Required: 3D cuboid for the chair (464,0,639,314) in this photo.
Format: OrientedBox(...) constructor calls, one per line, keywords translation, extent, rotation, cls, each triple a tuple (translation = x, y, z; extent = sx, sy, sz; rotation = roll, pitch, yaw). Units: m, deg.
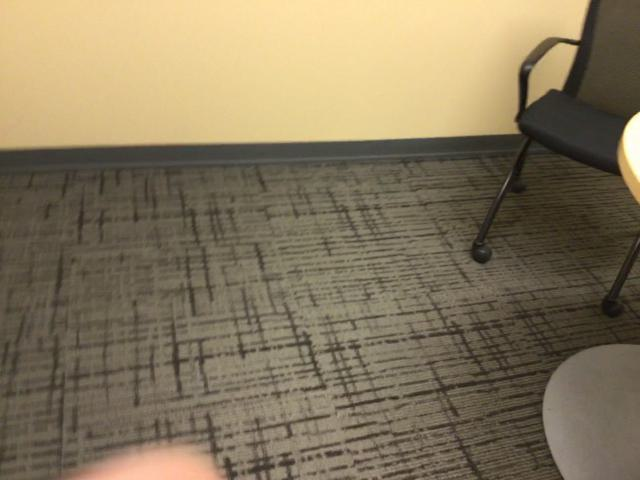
OrientedBox(translation=(0.920, -0.360, 1.710), extent=(0.610, 0.860, 0.610), rotation=(23, 39, 22), cls="chair")
